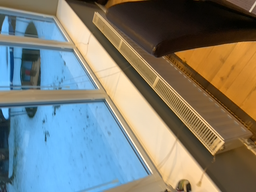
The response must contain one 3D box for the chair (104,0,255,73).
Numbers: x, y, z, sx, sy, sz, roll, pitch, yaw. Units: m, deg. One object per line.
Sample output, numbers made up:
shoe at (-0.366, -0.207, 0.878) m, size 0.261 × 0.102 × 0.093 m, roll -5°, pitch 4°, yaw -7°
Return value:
chair at (0.480, -0.440, 0.890) m, size 0.370 × 0.970 × 0.560 m, roll 53°, pitch 132°, yaw 37°
